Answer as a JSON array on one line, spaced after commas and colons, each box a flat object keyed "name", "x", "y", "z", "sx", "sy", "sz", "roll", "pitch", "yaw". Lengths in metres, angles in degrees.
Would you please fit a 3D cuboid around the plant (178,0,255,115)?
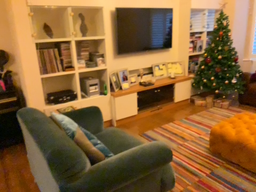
[{"name": "plant", "x": 1.670, "y": -0.830, "z": 4.060, "sx": 0.890, "sy": 2.010, "sz": 1.000, "roll": -13, "pitch": 20, "yaw": -32}]
